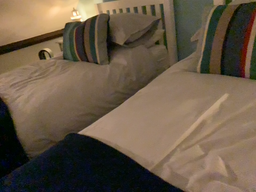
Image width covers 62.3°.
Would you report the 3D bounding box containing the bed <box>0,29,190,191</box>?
[{"bbox_3d":[-0.480,0.080,1.660,0.960,0.670,2.040,16,37,42],"label":"bed"}]
